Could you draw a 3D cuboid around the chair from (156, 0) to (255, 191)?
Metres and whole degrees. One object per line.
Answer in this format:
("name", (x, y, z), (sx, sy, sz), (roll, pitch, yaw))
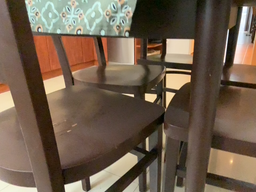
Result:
("chair", (0.370, 0.110, 0.590), (0.470, 0.760, 0.440), (8, 22, 22))

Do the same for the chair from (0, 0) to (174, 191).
("chair", (-0.180, 0.120, 0.530), (0.390, 0.780, 0.420), (14, 25, 34))

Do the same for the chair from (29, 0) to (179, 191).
("chair", (-0.060, -0.050, 1.000), (0.480, 0.780, 0.420), (7, 21, 18))

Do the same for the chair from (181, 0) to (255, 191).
("chair", (0.550, -0.030, 0.960), (0.480, 0.760, 0.410), (8, 22, 22))
